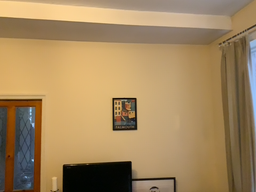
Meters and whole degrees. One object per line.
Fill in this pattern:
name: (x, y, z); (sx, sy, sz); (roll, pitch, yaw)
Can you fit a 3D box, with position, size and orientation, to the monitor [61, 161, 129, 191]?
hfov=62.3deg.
monitor: (-0.380, 1.040, 2.470); (0.770, 0.500, 0.040); (-1, -6, -10)
